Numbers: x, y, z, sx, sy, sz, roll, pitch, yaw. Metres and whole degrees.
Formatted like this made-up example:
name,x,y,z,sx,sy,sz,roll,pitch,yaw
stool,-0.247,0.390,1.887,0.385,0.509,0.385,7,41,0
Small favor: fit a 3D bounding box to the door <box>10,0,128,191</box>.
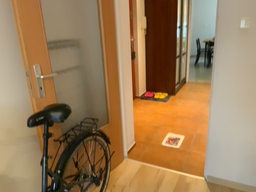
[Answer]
name,x,y,z,sx,sy,sz,roll,pitch,yaw
door,-0.350,-0.070,1.700,0.120,2.320,0.840,12,24,36
